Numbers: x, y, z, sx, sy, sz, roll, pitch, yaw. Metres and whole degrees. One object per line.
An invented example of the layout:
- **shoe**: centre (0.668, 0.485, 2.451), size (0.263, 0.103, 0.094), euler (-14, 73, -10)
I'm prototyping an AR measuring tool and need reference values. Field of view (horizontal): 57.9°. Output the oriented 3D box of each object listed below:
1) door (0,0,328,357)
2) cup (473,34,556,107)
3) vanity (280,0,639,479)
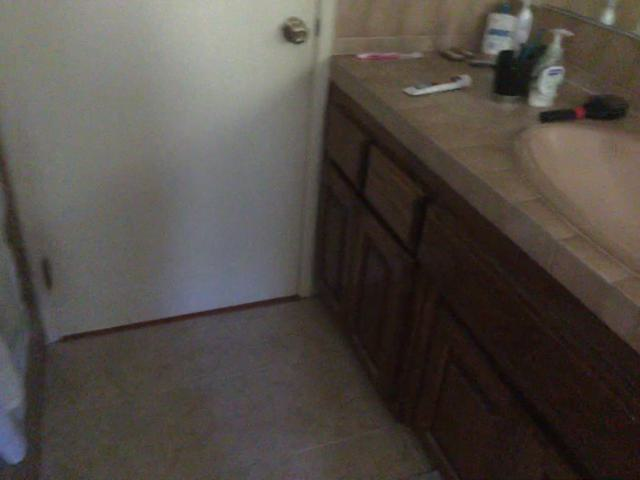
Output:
- **door**: centre (-0.430, -0.290, 1.510), size (0.840, 1.270, 0.150), euler (-7, 35, -21)
- **cup**: centre (0.430, -0.380, 1.290), size (0.110, 0.130, 0.100), euler (-7, 35, -21)
- **vanity**: centre (0.750, 0.550, 0.610), size (0.600, 1.000, 3.070), euler (-7, 35, -21)
